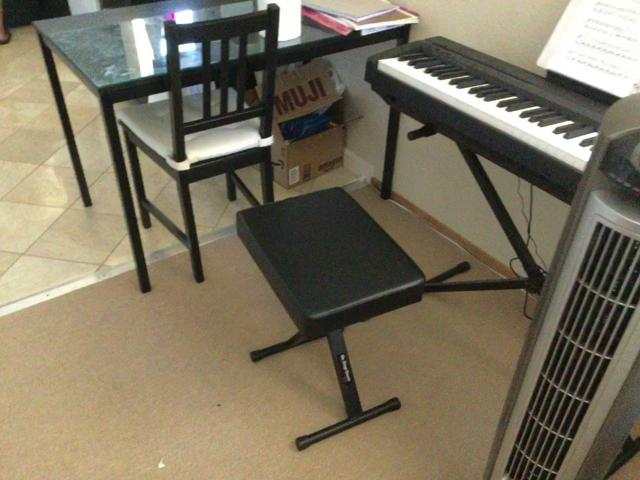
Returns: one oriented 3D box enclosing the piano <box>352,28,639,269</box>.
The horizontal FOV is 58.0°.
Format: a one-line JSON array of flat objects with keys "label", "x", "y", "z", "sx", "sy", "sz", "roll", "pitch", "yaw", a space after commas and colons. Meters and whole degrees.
[{"label": "piano", "x": 0.580, "y": -0.200, "z": 1.260, "sx": 0.340, "sy": 0.160, "sz": 1.320, "roll": -18, "pitch": 39, "yaw": -25}]
